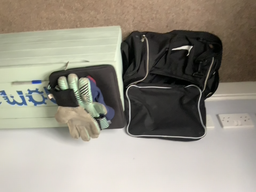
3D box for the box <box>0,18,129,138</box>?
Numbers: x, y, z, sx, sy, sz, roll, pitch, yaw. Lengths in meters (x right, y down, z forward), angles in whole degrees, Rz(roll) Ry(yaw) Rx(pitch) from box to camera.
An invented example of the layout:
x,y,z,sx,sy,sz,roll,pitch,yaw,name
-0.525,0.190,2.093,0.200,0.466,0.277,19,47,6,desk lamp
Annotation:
x,y,z,sx,sy,sz,roll,pitch,yaw,name
-0.410,-0.080,1.000,0.790,0.390,0.370,-2,132,5,box
